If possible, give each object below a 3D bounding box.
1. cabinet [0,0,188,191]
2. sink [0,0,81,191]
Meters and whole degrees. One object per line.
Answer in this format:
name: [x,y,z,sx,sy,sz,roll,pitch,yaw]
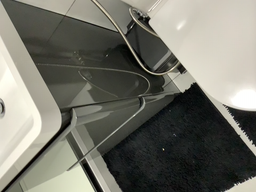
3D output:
cabinet: [-0.210,0.050,0.990,0.620,0.750,0.440,-43,72,27]
sink: [-0.450,0.080,0.650,0.620,0.100,0.410,-43,72,27]
